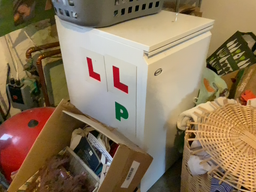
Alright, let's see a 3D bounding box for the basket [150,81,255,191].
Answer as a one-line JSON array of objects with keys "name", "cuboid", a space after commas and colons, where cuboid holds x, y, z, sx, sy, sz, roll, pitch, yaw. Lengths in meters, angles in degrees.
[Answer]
[{"name": "basket", "cuboid": [0.460, 0.380, 0.990, 0.540, 0.630, 0.450, -26, 43, -33]}]
